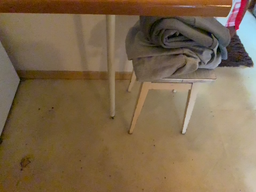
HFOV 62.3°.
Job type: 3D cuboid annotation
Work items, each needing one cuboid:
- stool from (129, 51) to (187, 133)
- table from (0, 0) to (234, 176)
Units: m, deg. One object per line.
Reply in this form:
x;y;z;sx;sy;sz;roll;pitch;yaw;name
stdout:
0.120;0.000;1.060;0.200;0.400;0.200;0;53;-4;stool
-0.240;-0.130;0.830;0.740;0.870;0.600;0;53;-4;table
